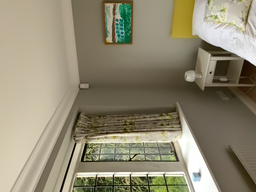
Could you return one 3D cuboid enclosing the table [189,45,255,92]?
[{"bbox_3d":[1.250,-0.370,2.770,0.460,0.700,0.470,-93,4,-62],"label":"table"}]
